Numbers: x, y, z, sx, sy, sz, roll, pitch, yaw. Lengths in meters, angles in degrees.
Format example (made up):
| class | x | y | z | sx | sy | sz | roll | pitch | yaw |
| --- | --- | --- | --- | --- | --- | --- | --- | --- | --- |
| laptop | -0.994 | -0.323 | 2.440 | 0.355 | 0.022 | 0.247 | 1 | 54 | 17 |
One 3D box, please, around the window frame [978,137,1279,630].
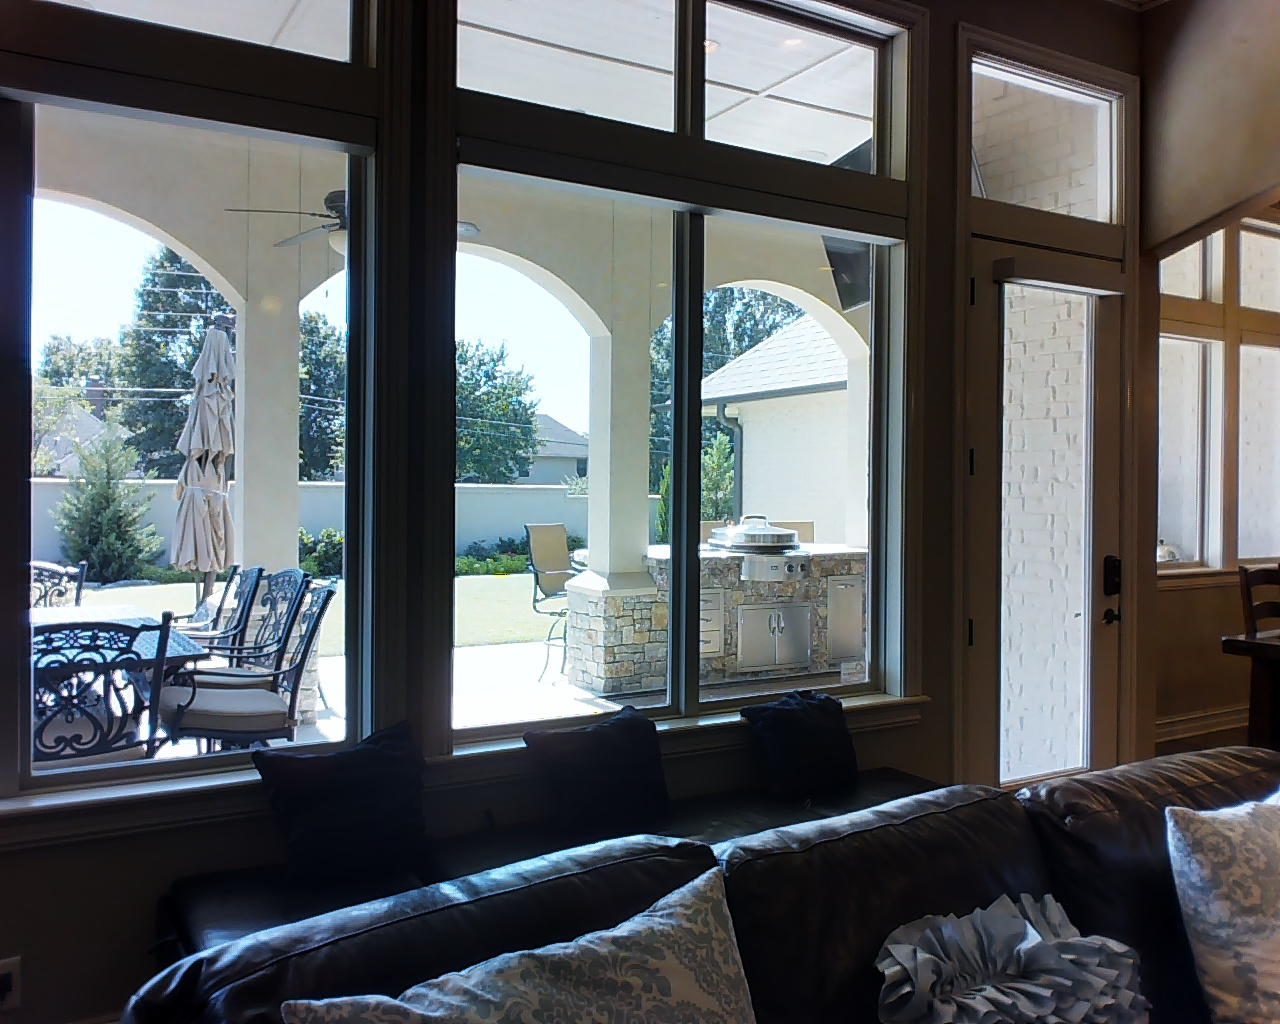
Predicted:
| class | x | y | z | sx | sy | sz | roll | pitch | yaw |
| --- | --- | --- | --- | --- | --- | --- | --- | --- | --- |
| window frame | 3.290 | -0.650 | 6.440 | 3.290 | 2.540 | 0.220 | 1 | 0 | -30 |
